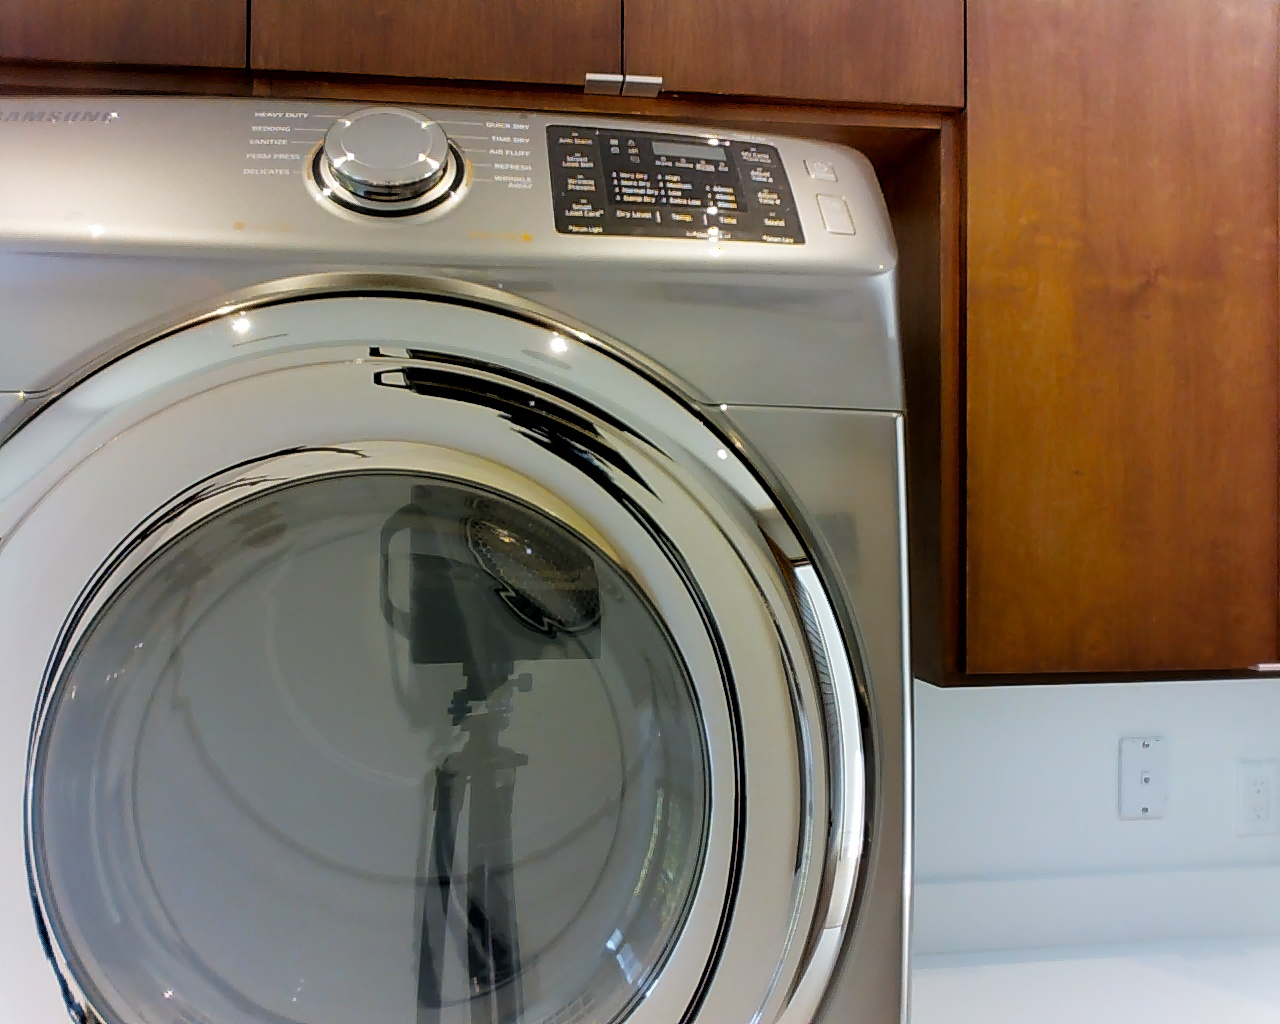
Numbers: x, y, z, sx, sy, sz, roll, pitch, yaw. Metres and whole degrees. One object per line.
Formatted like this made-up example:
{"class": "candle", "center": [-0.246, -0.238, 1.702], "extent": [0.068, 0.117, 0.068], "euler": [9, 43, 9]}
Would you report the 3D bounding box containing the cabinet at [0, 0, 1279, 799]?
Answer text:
{"class": "cabinet", "center": [-0.410, -0.460, 1.140], "extent": [3.100, 1.400, 0.440], "euler": [0, 0, -9]}
